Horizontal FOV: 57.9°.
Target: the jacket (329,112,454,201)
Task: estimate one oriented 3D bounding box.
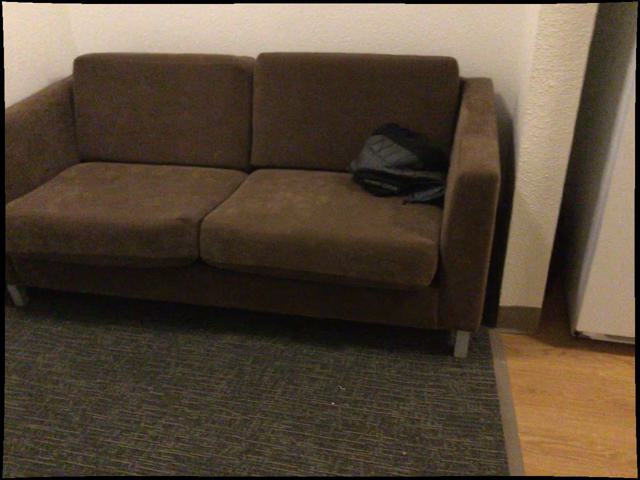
[{"bbox_3d":[0.240,-0.280,1.890,0.360,0.180,0.250,5,34,15],"label":"jacket"}]

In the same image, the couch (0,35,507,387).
[{"bbox_3d":[-0.290,-0.220,2.060,1.748,0.751,0.940,5,34,15],"label":"couch"}]
